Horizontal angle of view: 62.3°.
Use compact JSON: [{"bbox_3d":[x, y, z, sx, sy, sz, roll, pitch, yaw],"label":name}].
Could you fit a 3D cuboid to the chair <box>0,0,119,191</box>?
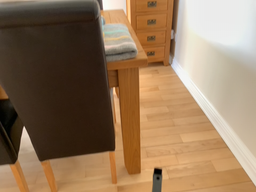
[{"bbox_3d":[-0.320,0.000,1.120,0.420,1.030,0.620,-7,34,-6],"label":"chair"}]
